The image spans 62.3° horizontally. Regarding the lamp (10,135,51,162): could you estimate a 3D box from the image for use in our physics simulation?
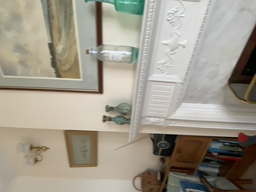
[{"bbox_3d":[-1.050,0.580,2.310,0.100,0.320,0.350,-90,5,-45],"label":"lamp"}]

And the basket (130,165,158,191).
[{"bbox_3d":[0.190,1.040,2.620,0.210,0.290,0.350,-90,5,-46],"label":"basket"}]
